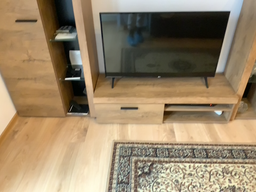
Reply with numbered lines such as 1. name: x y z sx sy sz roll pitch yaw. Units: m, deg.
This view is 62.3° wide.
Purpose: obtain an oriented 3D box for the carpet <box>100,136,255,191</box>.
1. carpet: 0.670 0.720 1.310 1.720 0.020 1.230 0 37 2

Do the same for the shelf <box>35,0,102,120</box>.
1. shelf: -0.450 -0.650 1.590 0.280 1.900 0.390 1 37 3
